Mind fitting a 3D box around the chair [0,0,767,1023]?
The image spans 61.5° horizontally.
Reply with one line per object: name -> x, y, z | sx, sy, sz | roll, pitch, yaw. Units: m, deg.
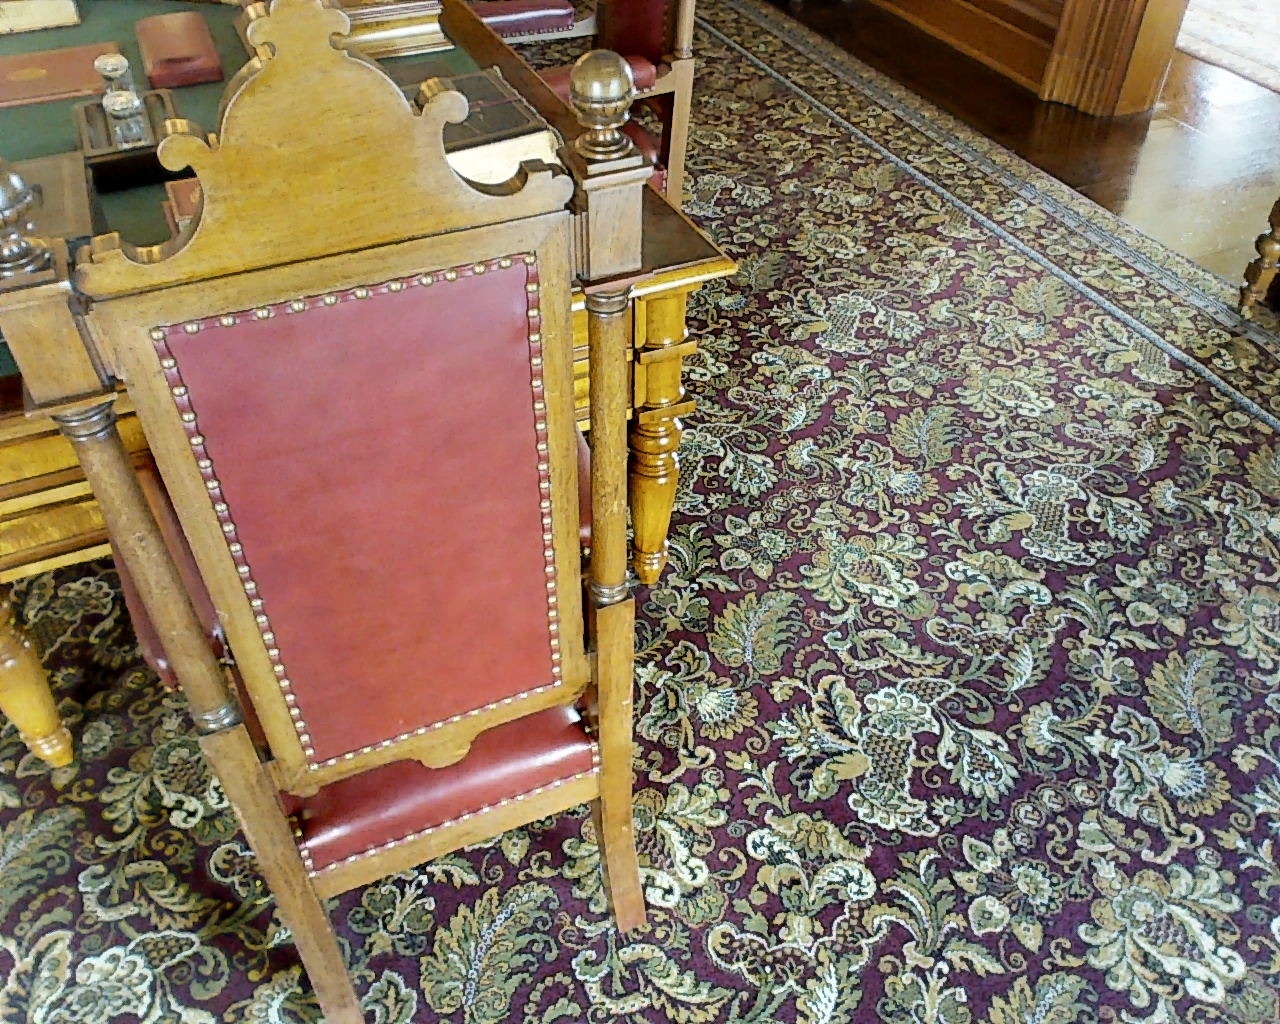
chair -> -0.340, -0.040, 1.360 | 0.660, 1.310, 0.650 | -16, 44, -18

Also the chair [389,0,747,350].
chair -> -0.200, -1.200, 2.660 | 0.690, 1.320, 0.650 | -16, 44, -17
